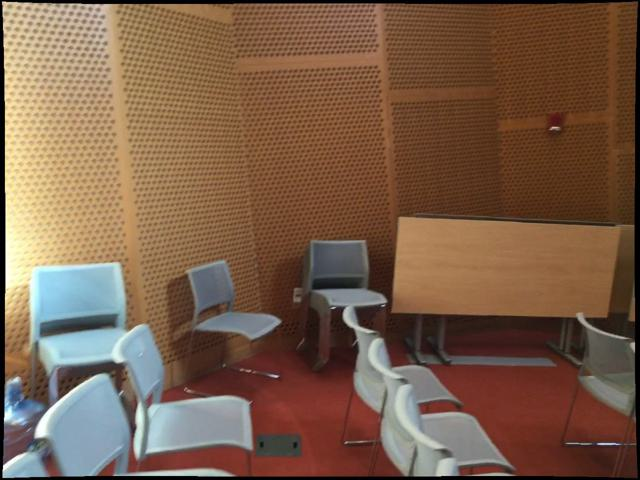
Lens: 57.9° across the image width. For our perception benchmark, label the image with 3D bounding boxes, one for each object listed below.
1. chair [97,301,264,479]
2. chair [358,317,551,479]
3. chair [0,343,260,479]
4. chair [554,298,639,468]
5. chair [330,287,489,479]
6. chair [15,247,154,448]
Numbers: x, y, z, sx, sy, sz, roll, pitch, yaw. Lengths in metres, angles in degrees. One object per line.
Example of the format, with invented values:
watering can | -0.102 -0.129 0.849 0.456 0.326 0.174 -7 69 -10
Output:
chair | -0.529 0.691 2.420 0.549 0.681 0.580 -3 14 -5
chair | 0.499 0.791 2.400 0.589 0.721 0.650 -3 14 -4
chair | -0.529 0.791 1.830 0.589 0.701 0.640 -2 14 1
chair | 1.439 0.701 2.940 0.160 0.671 0.500 -5 14 -13
chair | 0.420 0.701 2.880 0.550 0.731 0.590 -6 14 -18
chair | -1.209 0.511 2.970 0.490 0.801 0.510 -10 16 -30
